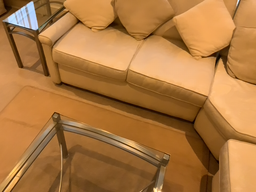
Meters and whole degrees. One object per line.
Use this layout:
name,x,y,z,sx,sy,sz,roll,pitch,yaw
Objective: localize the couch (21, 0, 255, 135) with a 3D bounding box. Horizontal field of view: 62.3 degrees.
couch,0.110,-0.460,1.770,1.420,0.840,0.880,15,48,6
